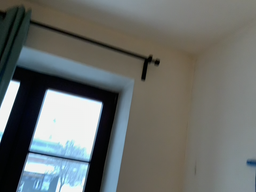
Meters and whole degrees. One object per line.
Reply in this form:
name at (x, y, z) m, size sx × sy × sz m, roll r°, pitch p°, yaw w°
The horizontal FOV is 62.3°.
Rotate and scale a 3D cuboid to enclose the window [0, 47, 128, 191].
window at (-0.500, 0.530, 1.320) m, size 0.700 × 1.530 × 0.270 m, roll 15°, pitch -17°, yaw -14°
